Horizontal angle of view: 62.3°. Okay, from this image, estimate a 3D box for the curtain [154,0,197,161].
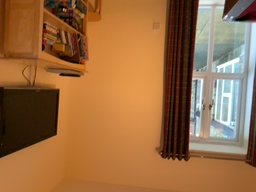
[{"bbox_3d":[0.600,-0.310,2.710,0.400,2.240,0.100,3,-177,7],"label":"curtain"}]

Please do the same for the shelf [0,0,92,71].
[{"bbox_3d":[-0.720,-0.850,1.980,0.420,1.140,0.990,4,-177,10],"label":"shelf"}]

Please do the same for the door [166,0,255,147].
[{"bbox_3d":[1.220,-0.360,3.180,1.150,2.120,0.120,4,-177,8],"label":"door"}]
